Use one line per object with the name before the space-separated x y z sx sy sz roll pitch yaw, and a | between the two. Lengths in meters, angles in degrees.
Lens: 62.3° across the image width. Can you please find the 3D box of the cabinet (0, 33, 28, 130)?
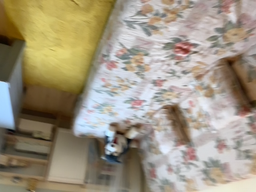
cabinet | -1.160 -0.100 1.830 0.440 0.430 0.830 14 146 -18

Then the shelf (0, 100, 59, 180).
shelf | -1.130 0.490 2.410 0.500 0.810 0.160 14 146 -18
